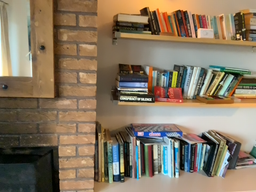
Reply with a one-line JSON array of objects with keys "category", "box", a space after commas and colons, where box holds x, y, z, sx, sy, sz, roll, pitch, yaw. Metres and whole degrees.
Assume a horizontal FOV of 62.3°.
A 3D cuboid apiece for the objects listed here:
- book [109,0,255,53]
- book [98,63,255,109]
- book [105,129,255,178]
[{"category": "book", "box": [0.500, -0.500, 1.590, 1.270, 0.290, 0.160, 1, 12, -8]}, {"category": "book", "box": [0.460, -0.080, 1.670, 1.370, 0.290, 0.240, 2, 12, -6]}, {"category": "book", "box": [0.410, 0.450, 1.700, 1.180, 0.300, 0.210, 1, 12, -6]}]
